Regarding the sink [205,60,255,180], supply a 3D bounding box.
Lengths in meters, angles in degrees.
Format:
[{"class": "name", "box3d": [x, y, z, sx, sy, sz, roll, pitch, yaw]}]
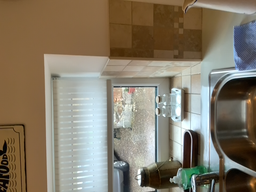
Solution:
[{"class": "sink", "box3d": [0.530, 0.080, 0.790, 0.470, 0.210, 0.410, -172, 81, -73]}]
